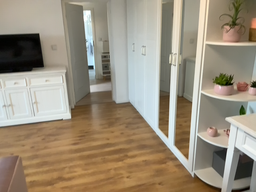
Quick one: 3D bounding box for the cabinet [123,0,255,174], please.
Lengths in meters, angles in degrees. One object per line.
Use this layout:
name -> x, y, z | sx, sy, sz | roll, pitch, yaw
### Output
cabinet -> 0.560, -0.690, 3.190 | 0.660, 2.400, 2.520 | -6, 19, -14
